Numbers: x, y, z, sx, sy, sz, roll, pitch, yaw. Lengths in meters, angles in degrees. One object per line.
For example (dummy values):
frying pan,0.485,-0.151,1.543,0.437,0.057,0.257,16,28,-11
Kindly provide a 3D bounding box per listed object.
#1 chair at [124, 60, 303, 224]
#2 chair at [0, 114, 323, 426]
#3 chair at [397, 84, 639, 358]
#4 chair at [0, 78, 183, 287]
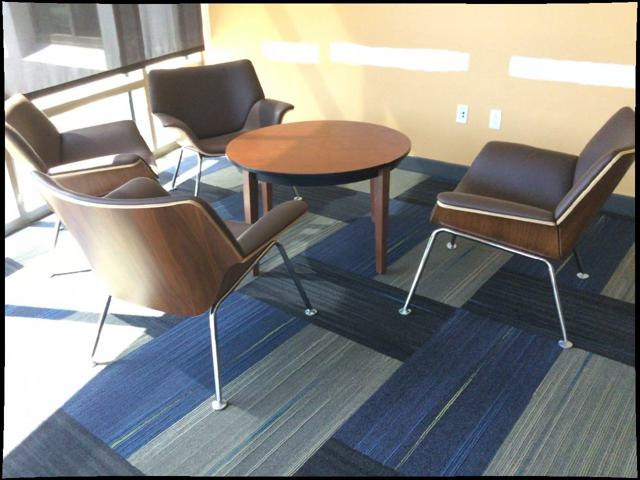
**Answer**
chair,-0.678,-0.672,3.690,0.858,0.721,0.770,-15,31,-23
chair,-0.559,0.030,2.190,0.858,0.741,0.760,14,32,26
chair,0.858,-0.150,2.410,0.808,0.752,0.800,12,31,25
chair,-1.237,-0.361,3.060,0.798,0.741,0.850,-11,29,-16
